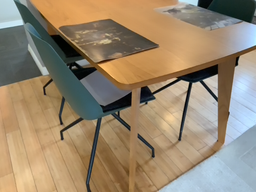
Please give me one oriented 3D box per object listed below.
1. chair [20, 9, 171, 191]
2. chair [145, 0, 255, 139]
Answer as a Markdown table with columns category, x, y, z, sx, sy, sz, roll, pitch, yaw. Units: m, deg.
| category | x | y | z | sx | sy | sz | roll | pitch | yaw |
| --- | --- | --- | --- | --- | --- | --- | --- | --- | --- |
| chair | -0.170 | 0.020 | 1.190 | 0.520 | 0.800 | 0.480 | -20 | 42 | -25 |
| chair | 0.470 | -0.210 | 1.510 | 0.490 | 0.820 | 0.480 | -14 | 39 | -19 |
